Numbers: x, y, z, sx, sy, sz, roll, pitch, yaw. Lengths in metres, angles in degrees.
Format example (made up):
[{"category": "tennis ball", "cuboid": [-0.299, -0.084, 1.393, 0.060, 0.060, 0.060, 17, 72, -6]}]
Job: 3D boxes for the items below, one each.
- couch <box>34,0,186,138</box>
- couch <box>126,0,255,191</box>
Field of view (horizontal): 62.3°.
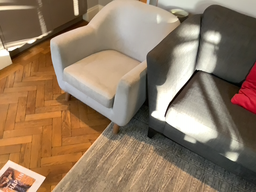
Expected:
[{"category": "couch", "cuboid": [-0.110, -0.320, 1.780, 0.750, 0.720, 0.830, 26, 48, 19]}, {"category": "couch", "cuboid": [1.190, 0.190, 1.370, 2.150, 0.790, 1.000, 26, 48, 19]}]
